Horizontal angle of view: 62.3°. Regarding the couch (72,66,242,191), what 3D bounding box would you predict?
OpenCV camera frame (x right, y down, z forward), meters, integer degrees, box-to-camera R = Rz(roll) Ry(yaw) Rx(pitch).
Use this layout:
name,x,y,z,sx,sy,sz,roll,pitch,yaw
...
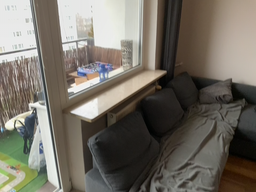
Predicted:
name,x,y,z,sx,sy,sz,roll,pitch,yaw
couch,0.590,0.360,2.370,0.960,0.750,2.340,13,26,27

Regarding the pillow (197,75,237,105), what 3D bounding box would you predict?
name,x,y,z,sx,sy,sz,roll,pitch,yaw
pillow,1.230,-0.100,2.930,0.310,0.220,0.540,20,30,38

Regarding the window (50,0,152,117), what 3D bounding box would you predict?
name,x,y,z,sx,sy,sz,roll,pitch,yaw
window,-0.130,-0.710,2.140,0.160,1.350,1.470,13,26,26
